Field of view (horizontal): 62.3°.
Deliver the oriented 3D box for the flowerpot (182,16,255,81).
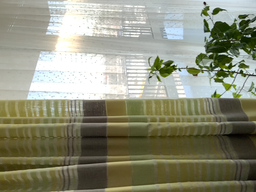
[{"bbox_3d":[0.980,-0.350,1.590,0.210,1.030,0.460,99,169,-52],"label":"flowerpot"}]
